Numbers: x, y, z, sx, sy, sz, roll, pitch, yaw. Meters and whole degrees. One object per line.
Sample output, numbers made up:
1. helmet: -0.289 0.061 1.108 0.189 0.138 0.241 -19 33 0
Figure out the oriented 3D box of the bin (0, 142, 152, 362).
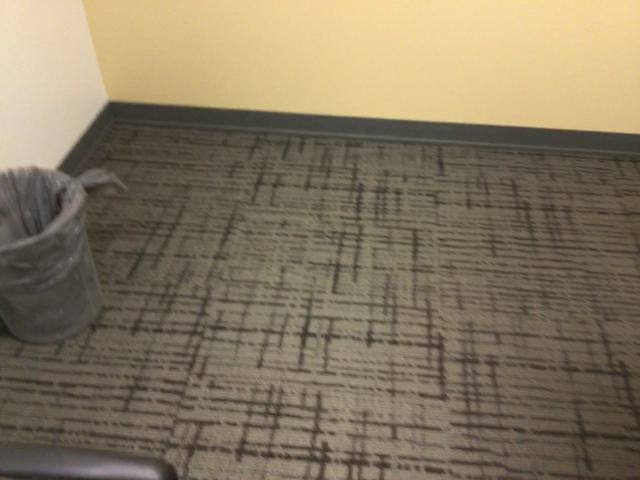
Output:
1. bin: -0.690 0.020 1.460 0.330 0.350 0.410 4 41 6
